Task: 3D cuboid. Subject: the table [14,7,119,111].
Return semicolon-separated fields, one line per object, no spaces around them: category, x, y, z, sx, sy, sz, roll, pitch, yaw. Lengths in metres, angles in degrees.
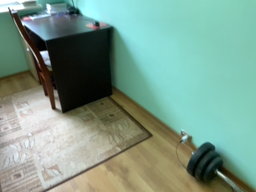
table;-0.740;-0.530;2.510;0.680;0.750;1.200;-22;38;-28
